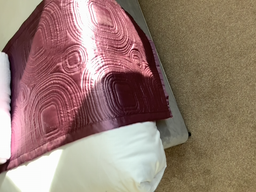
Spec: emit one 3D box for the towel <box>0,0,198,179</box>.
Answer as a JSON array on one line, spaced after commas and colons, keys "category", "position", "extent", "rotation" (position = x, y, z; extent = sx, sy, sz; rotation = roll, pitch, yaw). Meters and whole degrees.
[{"category": "towel", "position": [-0.550, 0.130, 1.030], "extent": [1.550, 0.470, 0.480], "rotation": [-22, 74, 29]}]
